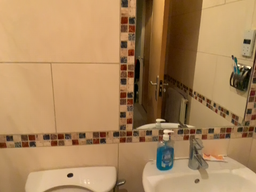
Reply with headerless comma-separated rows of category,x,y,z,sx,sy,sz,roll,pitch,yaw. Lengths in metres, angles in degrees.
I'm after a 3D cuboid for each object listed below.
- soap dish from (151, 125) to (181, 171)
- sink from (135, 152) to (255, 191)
soap dish,0.180,0.250,1.040,0.100,0.180,0.110,-2,16,-10
sink,0.360,0.470,0.950,0.580,0.180,0.460,-1,16,-8
